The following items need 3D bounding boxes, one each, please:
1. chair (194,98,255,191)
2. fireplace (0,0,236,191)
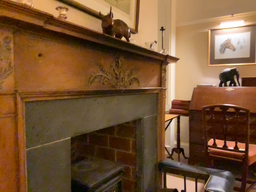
[{"bbox_3d":[1.040,0.490,2.170,0.520,0.900,0.510,2,4,41],"label":"chair"},{"bbox_3d":[-0.140,0.340,1.350,1.360,1.340,1.630,1,4,31],"label":"fireplace"}]
